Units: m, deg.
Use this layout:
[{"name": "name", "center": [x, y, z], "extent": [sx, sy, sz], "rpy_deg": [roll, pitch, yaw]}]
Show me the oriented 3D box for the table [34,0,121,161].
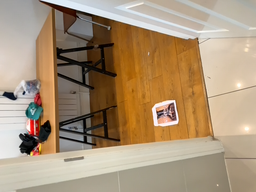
[{"name": "table", "center": [-0.670, -0.130, 2.590], "extent": [0.750, 0.740, 1.660], "rpy_deg": [-22, 71, 53]}]
